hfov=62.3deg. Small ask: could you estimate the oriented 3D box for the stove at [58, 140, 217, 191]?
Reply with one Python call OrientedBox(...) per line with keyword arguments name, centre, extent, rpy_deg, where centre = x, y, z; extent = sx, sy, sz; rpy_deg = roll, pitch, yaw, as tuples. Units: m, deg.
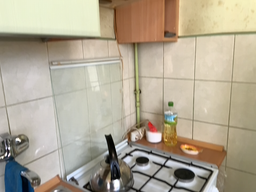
OrientedBox(name="stove", centre=(0.070, 0.460, 1.060), extent=(0.590, 0.170, 0.540), rpy_deg=(7, 15, 33))
